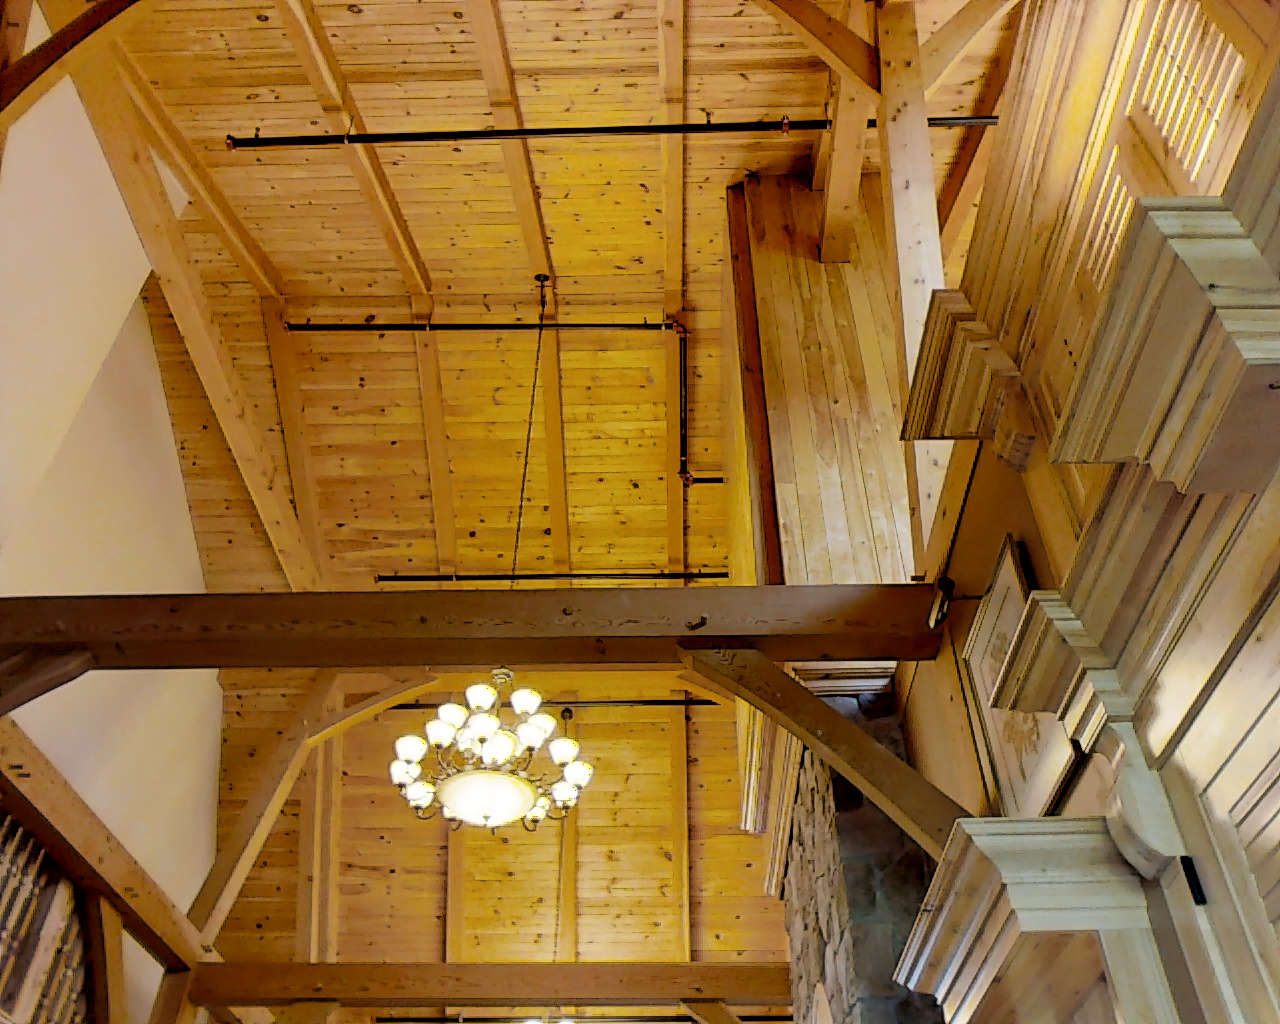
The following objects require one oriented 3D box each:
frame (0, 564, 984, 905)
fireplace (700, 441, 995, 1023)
[{"bbox_3d":[-1.109,0.830,4.200,4.548,1.300,0.340,0,-42,1],"label":"frame"},{"bbox_3d":[0.840,2.982,5.140,0.840,5.622,3.771,0,-42,1],"label":"fireplace"}]
